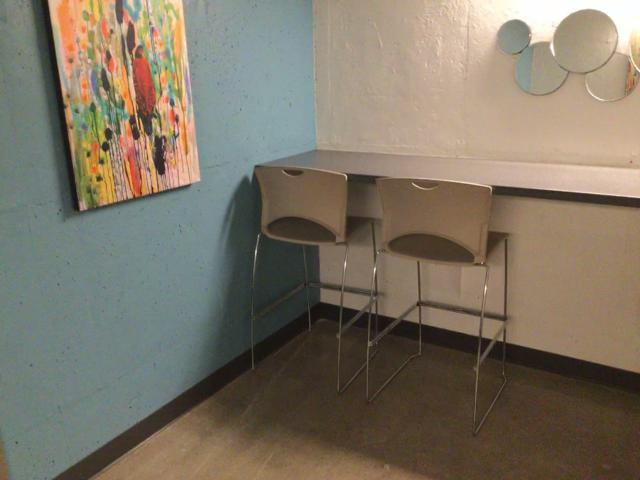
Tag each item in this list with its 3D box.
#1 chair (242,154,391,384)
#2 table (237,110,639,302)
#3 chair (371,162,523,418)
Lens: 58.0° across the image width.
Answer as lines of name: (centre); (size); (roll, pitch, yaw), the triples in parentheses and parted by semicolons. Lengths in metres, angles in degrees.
chair: (0.010, 0.100, 2.840); (0.520, 0.970, 0.490); (7, 18, 30)
table: (1.080, -0.150, 2.160); (2.990, 0.280, 0.680); (7, 55, 30)
chair: (0.550, 0.180, 2.520); (0.500, 0.960, 0.440); (7, 18, 30)
